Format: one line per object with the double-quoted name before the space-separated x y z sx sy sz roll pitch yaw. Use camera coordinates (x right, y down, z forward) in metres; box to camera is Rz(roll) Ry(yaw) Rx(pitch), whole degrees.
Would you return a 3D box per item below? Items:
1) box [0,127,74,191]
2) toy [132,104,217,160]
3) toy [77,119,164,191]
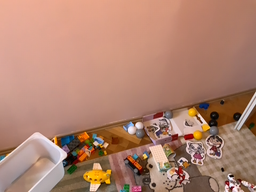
"box" -0.640 0.480 1.350 0.330 0.190 0.450 32 52 26
"toy" 0.360 0.270 1.720 0.580 0.060 0.360 -11 47 -13
"toy" -0.060 0.500 1.300 0.400 0.290 0.600 -9 46 -12
